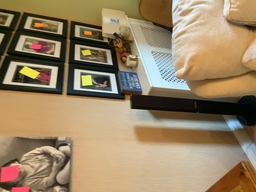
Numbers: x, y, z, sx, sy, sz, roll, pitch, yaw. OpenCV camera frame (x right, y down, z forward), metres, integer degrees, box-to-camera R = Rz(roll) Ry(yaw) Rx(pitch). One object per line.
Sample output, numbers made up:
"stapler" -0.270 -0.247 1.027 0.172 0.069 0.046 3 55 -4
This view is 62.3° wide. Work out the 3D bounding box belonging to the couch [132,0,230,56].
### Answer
"couch" 0.510 -0.840 2.270 0.670 0.730 0.430 -103 25 -46
